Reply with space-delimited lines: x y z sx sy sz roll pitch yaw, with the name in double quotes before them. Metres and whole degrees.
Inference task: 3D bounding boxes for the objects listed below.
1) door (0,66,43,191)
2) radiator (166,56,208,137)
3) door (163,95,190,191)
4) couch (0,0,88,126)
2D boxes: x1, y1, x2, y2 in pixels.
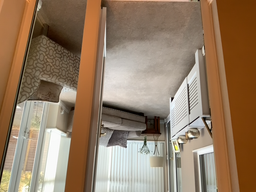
"door" -1.840 0.750 3.390 0.150 2.000 1.420 2 162 -1
"radiator" 0.780 0.140 3.150 0.120 0.710 1.680 2 162 0
"door" 1.020 1.250 4.680 0.140 2.180 1.550 2 162 -1
"couch" -1.060 -0.240 2.220 0.790 0.900 0.890 -9 159 29
